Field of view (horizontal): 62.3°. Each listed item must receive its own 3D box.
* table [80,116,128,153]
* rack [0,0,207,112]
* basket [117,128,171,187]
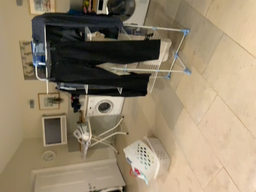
[{"bbox_3d":[-0.610,0.940,5.080,1.060,0.930,0.360,114,147,-51],"label":"table"},{"bbox_3d":[-0.280,-0.550,2.440,0.840,1.840,1.040,-115,29,-45],"label":"rack"},{"bbox_3d":[0.210,0.920,3.250,0.600,0.560,0.510,-116,30,-46],"label":"basket"}]
